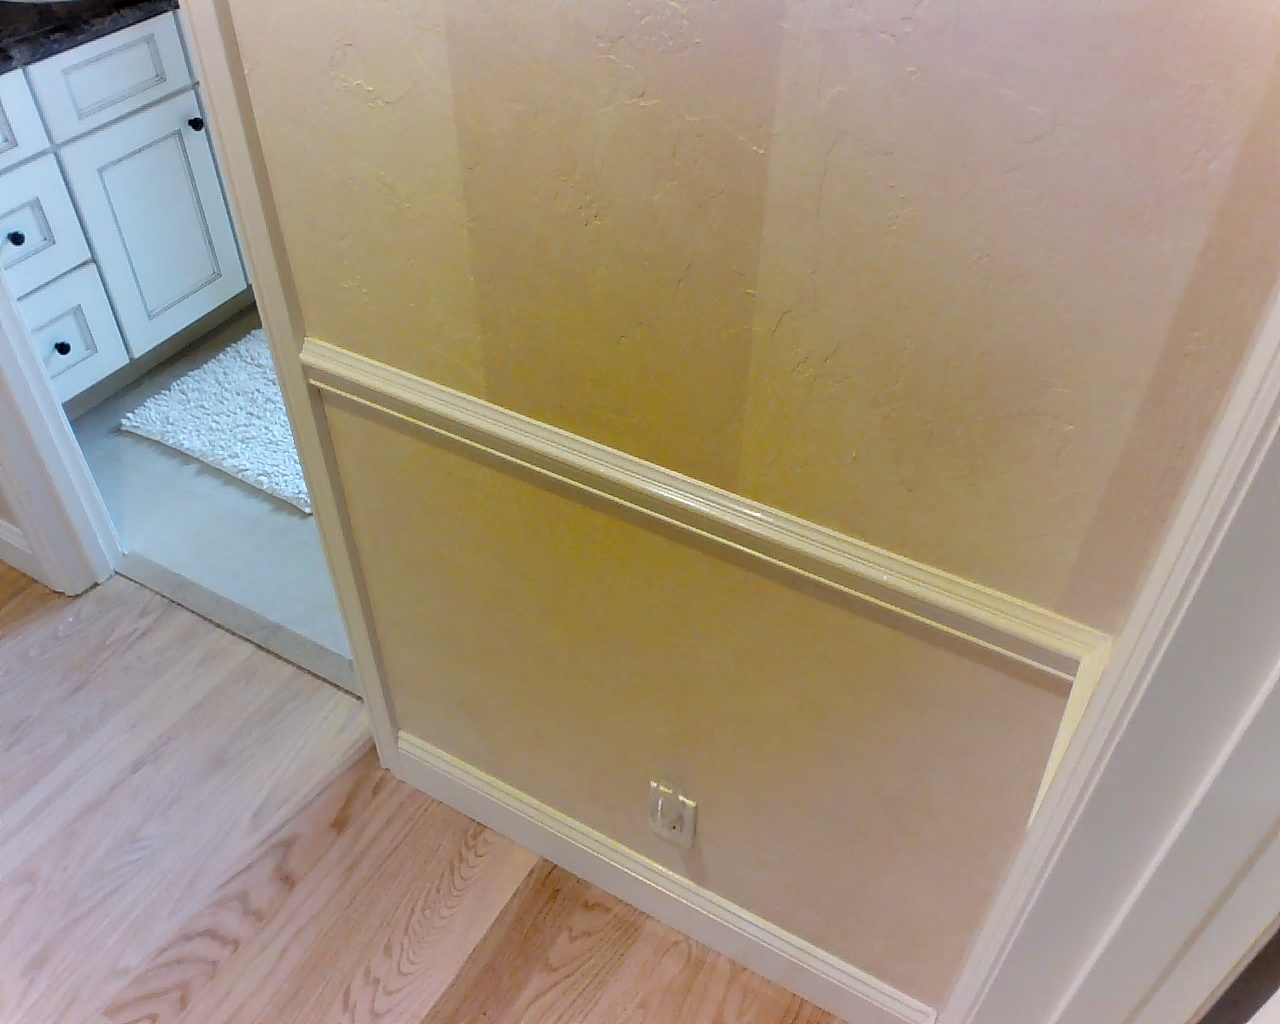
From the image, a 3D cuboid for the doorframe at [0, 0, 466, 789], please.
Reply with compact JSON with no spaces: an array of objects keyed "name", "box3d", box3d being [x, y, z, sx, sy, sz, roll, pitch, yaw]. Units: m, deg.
[{"name":"doorframe","box3d":[-0.760,-0.510,1.360,0.940,2.110,0.170,21,46,21]}]
